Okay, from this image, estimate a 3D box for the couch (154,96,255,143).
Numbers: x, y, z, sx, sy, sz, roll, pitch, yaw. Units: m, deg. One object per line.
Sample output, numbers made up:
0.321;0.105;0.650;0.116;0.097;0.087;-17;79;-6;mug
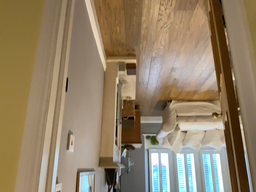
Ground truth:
1.860;0.550;4.610;2.460;0.810;1.050;-1;163;1;couch
